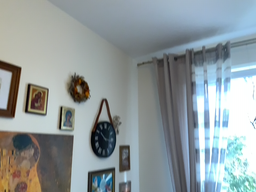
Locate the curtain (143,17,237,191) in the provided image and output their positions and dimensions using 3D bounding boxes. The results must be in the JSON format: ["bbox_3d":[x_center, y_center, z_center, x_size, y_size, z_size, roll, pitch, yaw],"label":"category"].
[{"bbox_3d":[0.560,0.650,1.990,0.760,2.730,0.240,-8,-15,31],"label":"curtain"}]
